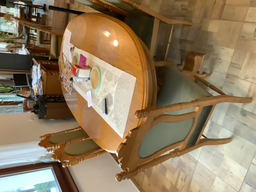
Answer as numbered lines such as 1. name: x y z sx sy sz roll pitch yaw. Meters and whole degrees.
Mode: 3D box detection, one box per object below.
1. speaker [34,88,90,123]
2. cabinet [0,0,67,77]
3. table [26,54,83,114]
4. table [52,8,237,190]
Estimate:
1. speaker: -1.190 0.160 3.830 0.430 0.850 0.450 37 120 50
2. cabinet: -2.580 -1.710 4.680 0.630 2.150 2.390 34 118 51
3. table: -1.620 -0.300 4.500 1.380 0.750 0.800 36 119 51
4. table: -0.120 -0.210 2.260 1.890 0.790 1.110 36 119 51
